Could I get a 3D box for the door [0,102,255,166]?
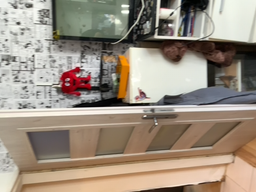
[{"bbox_3d":[0.190,0.300,1.640,0.860,2.060,0.080,114,152,-56],"label":"door"}]
